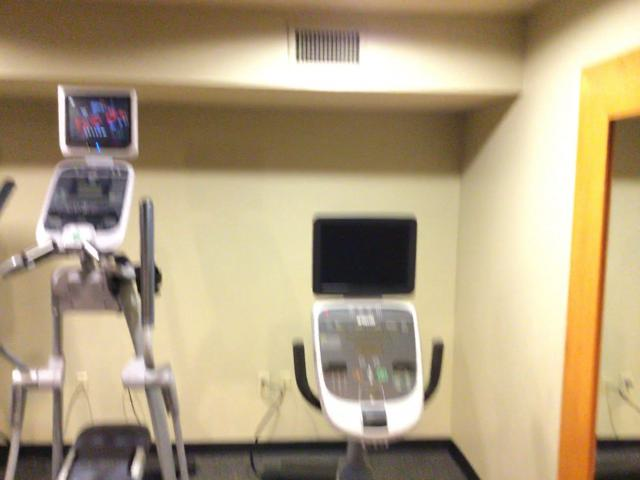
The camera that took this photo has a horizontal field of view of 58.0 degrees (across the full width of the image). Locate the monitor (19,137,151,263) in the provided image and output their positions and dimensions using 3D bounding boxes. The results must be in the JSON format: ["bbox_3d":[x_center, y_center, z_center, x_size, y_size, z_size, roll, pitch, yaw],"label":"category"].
[{"bbox_3d":[-0.890,-0.150,2.210,0.310,0.360,0.060,38,-7,-10],"label":"monitor"}]
